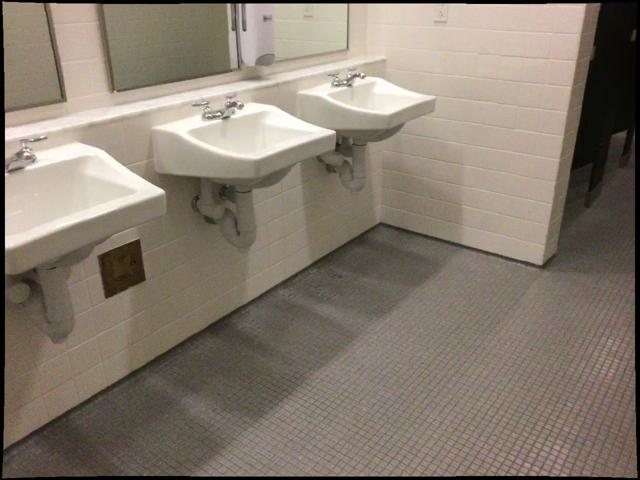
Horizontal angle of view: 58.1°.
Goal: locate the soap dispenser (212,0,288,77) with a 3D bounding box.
[{"bbox_3d":[-0.279,-0.842,2.340,0.170,0.301,0.240,17,32,33],"label":"soap dispenser"}]
